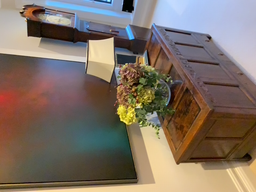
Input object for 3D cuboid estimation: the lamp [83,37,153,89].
[{"bbox_3d":[-0.130,-0.350,2.290,0.330,0.660,0.370,-105,25,-48],"label":"lamp"}]
